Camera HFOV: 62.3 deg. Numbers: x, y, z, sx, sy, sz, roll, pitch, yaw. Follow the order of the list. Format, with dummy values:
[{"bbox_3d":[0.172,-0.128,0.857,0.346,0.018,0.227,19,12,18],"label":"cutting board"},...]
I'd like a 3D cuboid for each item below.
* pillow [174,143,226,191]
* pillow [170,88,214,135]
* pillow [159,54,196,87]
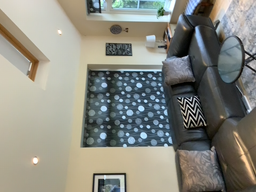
[{"bbox_3d":[0.800,0.810,2.390,0.120,0.380,0.430,96,154,-57],"label":"pillow"},{"bbox_3d":[0.840,0.190,2.830,0.160,0.290,0.560,95,153,-57],"label":"pillow"},{"bbox_3d":[0.740,-0.390,3.180,0.420,0.350,0.140,61,162,27],"label":"pillow"}]
